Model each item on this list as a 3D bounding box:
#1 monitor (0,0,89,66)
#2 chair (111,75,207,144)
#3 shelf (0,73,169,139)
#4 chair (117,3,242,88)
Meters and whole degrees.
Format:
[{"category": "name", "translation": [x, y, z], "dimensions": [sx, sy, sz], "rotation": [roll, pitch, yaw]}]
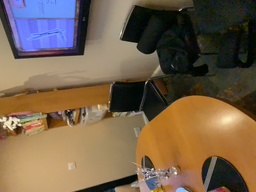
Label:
[{"category": "monitor", "translation": [-0.560, -0.500, 1.460], "dimensions": [0.930, 0.530, 0.040], "rotation": [123, 135, -60]}, {"category": "chair", "translation": [0.300, 0.120, 2.310], "dimensions": [0.480, 0.840, 0.420], "rotation": [-119, 30, -44]}, {"category": "shelf", "translation": [-0.540, 0.110, 2.790], "dimensions": [0.670, 2.040, 0.330], "rotation": [122, 136, -59]}, {"category": "chair", "translation": [0.410, -0.430, 1.820], "dimensions": [0.430, 0.830, 0.490], "rotation": [126, 133, -61]}]
